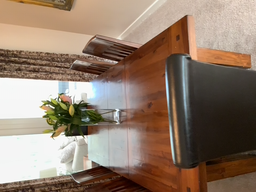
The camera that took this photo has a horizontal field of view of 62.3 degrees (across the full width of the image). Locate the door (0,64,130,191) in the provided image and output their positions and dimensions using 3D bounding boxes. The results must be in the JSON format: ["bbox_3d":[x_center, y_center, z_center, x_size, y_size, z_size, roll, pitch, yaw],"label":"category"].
[{"bbox_3d":[-1.000,0.440,3.150,0.130,2.090,1.740,-20,72,62],"label":"door"}]

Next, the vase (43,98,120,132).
[{"bbox_3d":[-0.370,0.140,1.660,0.310,0.520,0.220,-12,79,63],"label":"vase"}]

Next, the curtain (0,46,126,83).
[{"bbox_3d":[-1.050,-0.430,3.030,0.160,2.190,0.400,-17,74,62],"label":"curtain"}]
